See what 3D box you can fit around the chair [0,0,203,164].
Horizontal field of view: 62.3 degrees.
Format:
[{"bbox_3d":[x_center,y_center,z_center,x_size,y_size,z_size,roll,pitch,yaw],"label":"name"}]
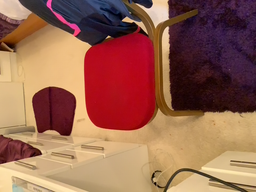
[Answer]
[{"bbox_3d":[-0.070,-0.140,0.960,0.480,0.840,0.580,-3,90,40],"label":"chair"}]
